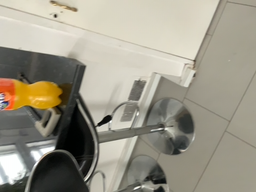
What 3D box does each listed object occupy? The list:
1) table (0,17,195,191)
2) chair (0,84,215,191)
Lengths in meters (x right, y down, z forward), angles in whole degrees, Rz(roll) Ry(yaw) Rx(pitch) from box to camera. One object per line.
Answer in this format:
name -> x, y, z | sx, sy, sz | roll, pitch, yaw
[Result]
table -> -0.440, 0.450, 1.600 | 0.960, 0.930, 1.650 | 32, 110, 39
chair -> -0.050, 0.240, 1.130 | 0.480, 1.100, 0.430 | 26, 107, 40
